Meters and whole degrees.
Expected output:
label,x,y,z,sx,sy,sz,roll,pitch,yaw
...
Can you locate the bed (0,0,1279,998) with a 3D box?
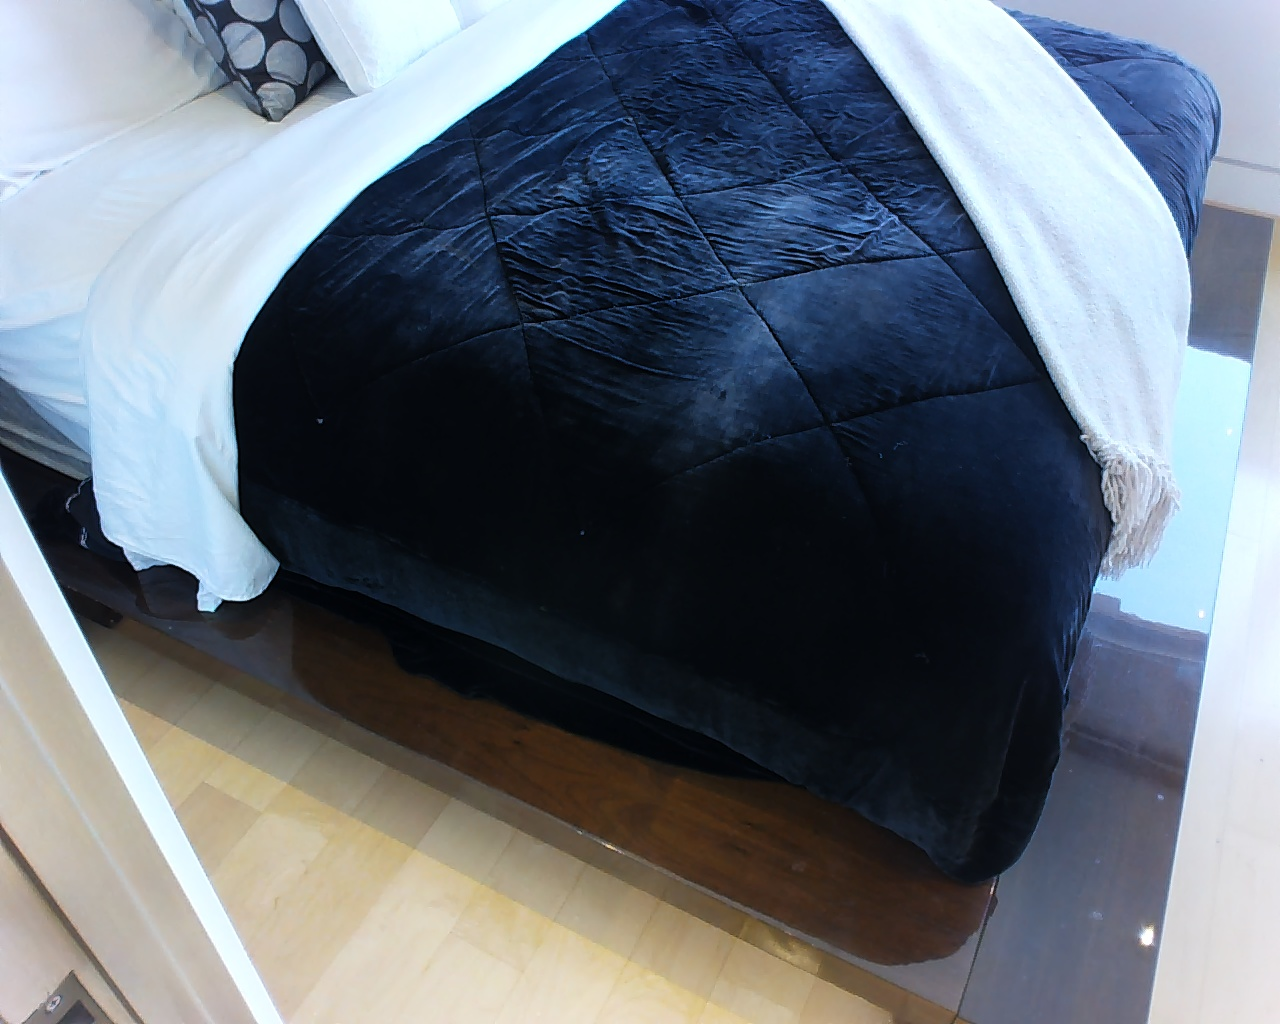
label,x,y,z,sx,sy,sz,roll,pitch,yaw
bed,0.030,-0.620,2.240,2.170,0.630,2.220,19,46,19
